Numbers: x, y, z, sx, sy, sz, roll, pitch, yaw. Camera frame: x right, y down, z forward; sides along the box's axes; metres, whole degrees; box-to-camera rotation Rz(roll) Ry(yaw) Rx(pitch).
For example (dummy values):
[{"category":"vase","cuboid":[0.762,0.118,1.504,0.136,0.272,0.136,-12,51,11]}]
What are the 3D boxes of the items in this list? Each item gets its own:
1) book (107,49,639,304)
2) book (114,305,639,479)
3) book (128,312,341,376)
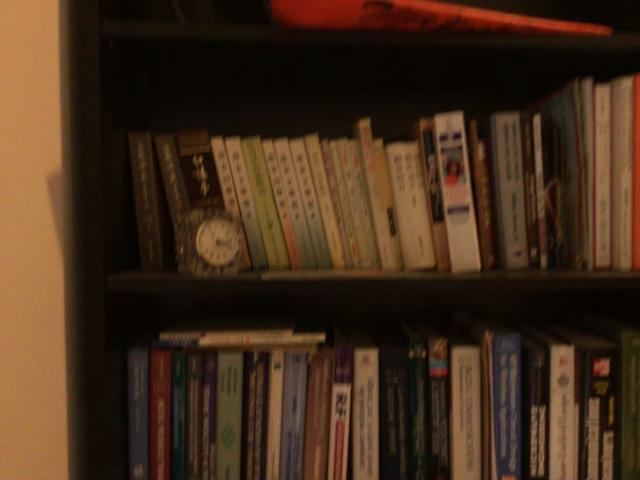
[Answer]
[{"category":"book","cuboid":[0.100,-0.090,0.870,0.750,0.320,0.220,-2,0,-5]},{"category":"book","cuboid":[0.100,0.260,0.890,0.750,0.270,0.210,-2,0,-5]},{"category":"book","cuboid":[-0.120,0.150,0.870,0.280,0.050,0.200,-2,0,-5]}]
